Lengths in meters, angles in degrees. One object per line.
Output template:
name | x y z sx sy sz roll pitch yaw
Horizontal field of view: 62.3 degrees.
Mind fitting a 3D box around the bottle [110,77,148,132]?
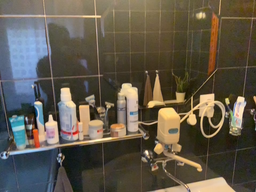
bottle | 0.000 0.030 1.020 0.120 0.210 0.180 -6 16 -19

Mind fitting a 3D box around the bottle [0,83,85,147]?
bottle | -0.350 0.070 0.890 0.310 0.210 0.110 -5 15 -15
